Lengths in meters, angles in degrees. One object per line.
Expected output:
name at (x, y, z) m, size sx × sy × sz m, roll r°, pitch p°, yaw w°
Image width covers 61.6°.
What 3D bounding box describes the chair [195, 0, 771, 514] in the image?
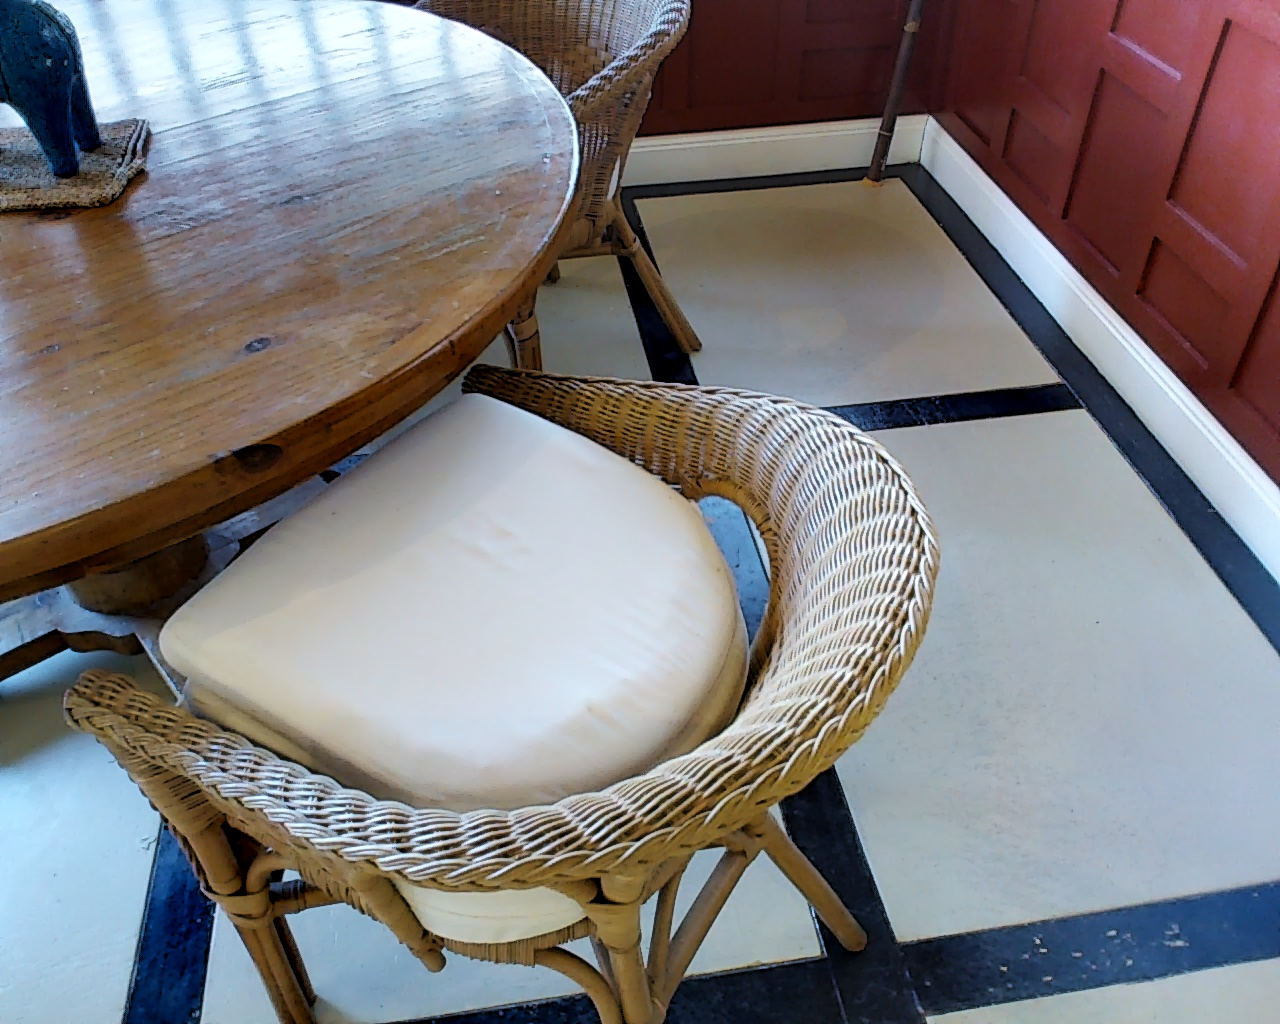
chair at (-0.250, -0.610, 2.120) m, size 0.680 × 0.760 × 0.740 m, roll 25°, pitch 47°, yaw 27°
